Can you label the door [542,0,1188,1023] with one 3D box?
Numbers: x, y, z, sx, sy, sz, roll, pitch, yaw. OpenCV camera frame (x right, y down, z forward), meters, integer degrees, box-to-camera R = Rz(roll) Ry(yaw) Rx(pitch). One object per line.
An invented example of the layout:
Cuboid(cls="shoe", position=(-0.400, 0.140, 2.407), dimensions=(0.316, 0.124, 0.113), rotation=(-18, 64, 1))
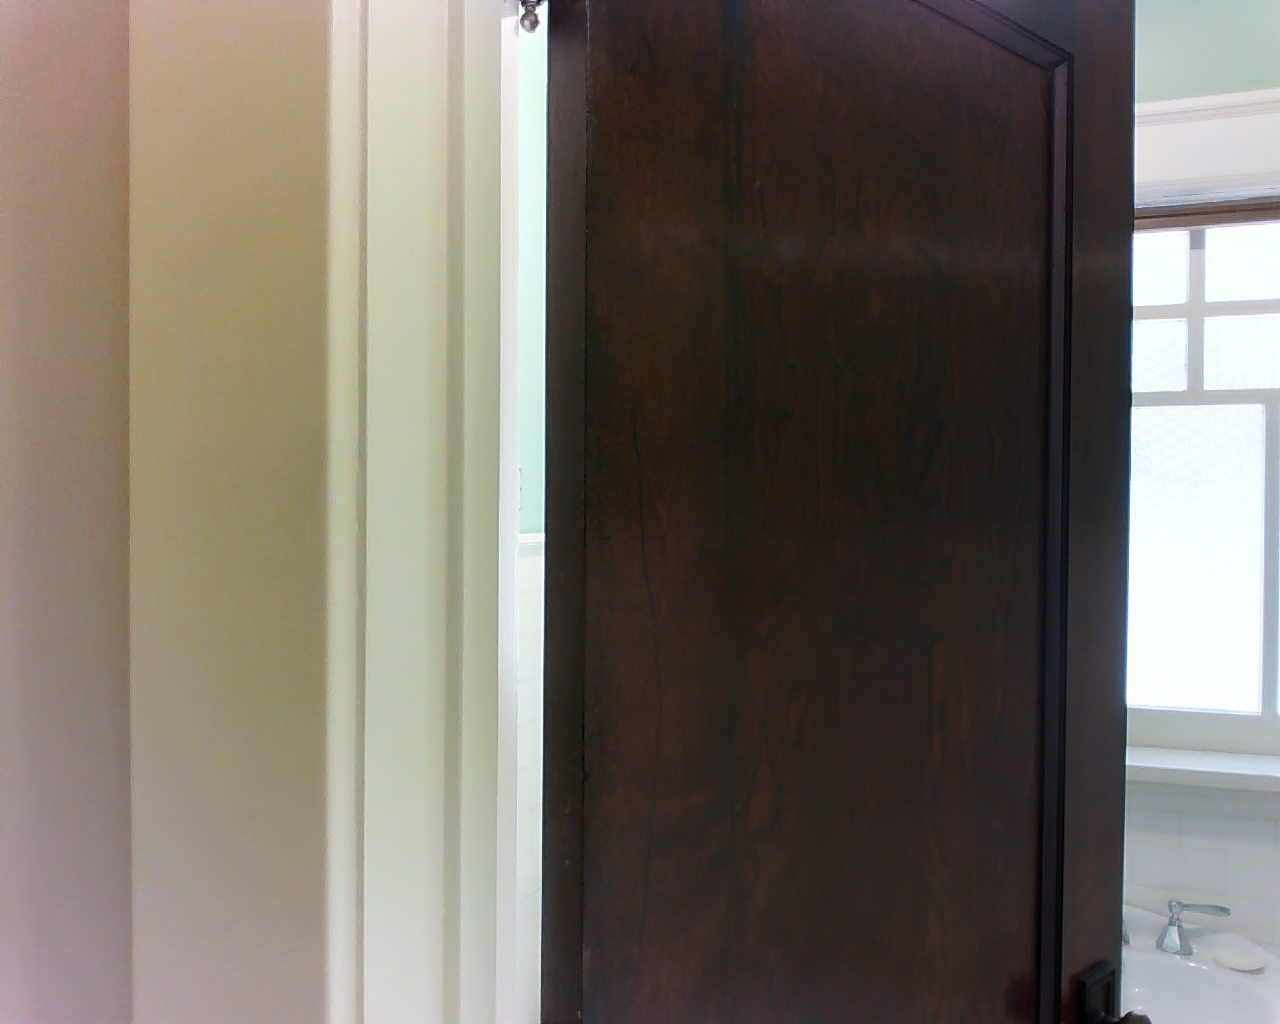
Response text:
Cuboid(cls="door", position=(0.260, 0.460, 0.930), dimensions=(0.800, 2.130, 0.070), rotation=(0, 1, -41))
